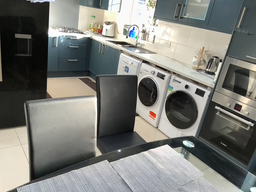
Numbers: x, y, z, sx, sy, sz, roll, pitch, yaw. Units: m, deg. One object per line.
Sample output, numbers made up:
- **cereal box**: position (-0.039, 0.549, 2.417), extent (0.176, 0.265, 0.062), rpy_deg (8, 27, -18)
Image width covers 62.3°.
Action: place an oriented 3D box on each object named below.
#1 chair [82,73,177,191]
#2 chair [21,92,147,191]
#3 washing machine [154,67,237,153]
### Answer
- **chair**: position (-0.050, 0.390, 1.850), extent (0.400, 1.040, 0.590), rpy_deg (-5, 26, -34)
- **chair**: position (-0.330, 0.580, 1.230), extent (0.420, 1.050, 0.560), rpy_deg (-6, 26, -36)
- **washing machine**: position (0.890, 0.150, 2.930), extent (0.620, 0.930, 0.630), rpy_deg (-7, 27, -37)
